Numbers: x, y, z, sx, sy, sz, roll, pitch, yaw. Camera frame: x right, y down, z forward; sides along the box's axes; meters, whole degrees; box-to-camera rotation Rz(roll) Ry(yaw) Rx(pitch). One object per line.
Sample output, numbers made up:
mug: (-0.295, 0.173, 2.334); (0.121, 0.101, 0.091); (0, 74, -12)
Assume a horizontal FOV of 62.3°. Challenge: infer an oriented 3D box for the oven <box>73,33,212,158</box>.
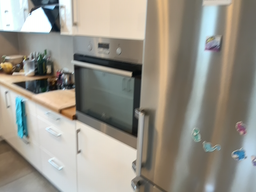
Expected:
oven: (0.090, -0.100, 1.480); (0.650, 0.610, 0.650); (18, 23, 39)
